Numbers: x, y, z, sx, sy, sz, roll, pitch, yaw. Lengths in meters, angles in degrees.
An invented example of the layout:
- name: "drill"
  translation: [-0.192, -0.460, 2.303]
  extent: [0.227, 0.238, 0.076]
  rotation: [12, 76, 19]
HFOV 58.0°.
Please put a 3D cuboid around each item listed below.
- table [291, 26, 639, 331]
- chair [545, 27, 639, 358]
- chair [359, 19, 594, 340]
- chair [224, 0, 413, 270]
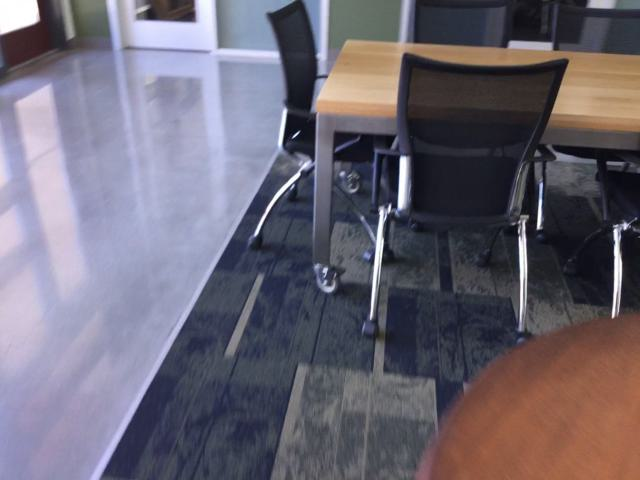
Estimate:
- name: "table"
  translation: [1.230, -0.290, 2.290]
  extent: [2.500, 0.780, 1.080]
  rotation: [5, 32, 8]
- name: "chair"
  translation: [1.180, -0.150, 1.900]
  extent: [0.570, 0.920, 0.590]
  rotation: [5, 32, 8]
- name: "chair"
  translation: [0.470, -0.220, 2.020]
  extent: [0.580, 0.930, 0.560]
  rotation: [5, 32, 8]
- name: "chair"
  translation: [0.040, -0.500, 2.500]
  extent: [0.630, 0.950, 0.750]
  rotation: [5, 32, 7]
